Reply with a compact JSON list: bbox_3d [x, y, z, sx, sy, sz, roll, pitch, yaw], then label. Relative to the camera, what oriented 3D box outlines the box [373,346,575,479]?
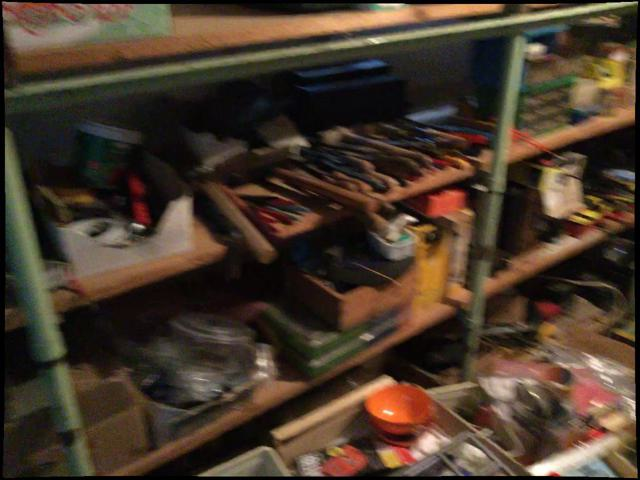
[{"bbox_3d":[0.290,0.400,1.110,0.320,0.210,0.200,-22,34,-32],"label":"box"}]

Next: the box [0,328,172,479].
[{"bbox_3d":[-0.450,0.330,1.080,0.260,0.180,0.180,-22,34,-32],"label":"box"}]
